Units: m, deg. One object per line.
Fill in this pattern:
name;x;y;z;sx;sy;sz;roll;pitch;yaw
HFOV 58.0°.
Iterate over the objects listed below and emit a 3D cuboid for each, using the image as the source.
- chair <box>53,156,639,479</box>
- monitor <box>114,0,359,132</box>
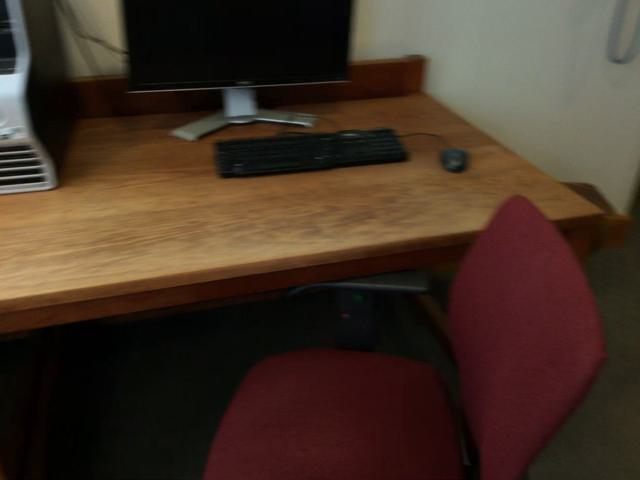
chair;0.060;0.400;0.980;0.590;0.930;0.620;1;25;0
monitor;-0.210;-0.540;1.450;0.560;0.450;0.250;-6;26;-15
